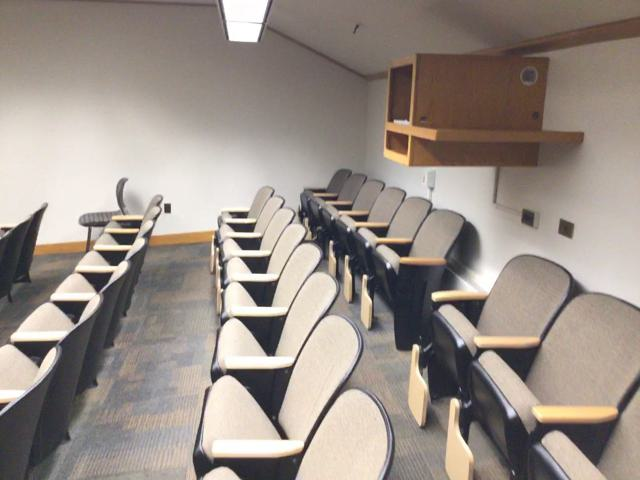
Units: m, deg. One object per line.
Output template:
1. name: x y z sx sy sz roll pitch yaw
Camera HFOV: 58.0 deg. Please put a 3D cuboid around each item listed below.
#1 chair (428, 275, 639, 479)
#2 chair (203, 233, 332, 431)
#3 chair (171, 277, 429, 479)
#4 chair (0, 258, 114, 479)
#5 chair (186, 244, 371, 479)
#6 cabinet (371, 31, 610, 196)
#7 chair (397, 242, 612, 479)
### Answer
1. chair: 0.780 0.610 1.950 0.550 0.810 0.560 4 15 -10
2. chair: -0.270 0.430 2.770 0.500 0.800 0.450 4 15 -10
3. chair: -0.140 0.670 1.950 0.600 0.810 0.660 13 13 -12
4. chair: -1.200 0.550 2.380 0.550 0.790 0.560 6 14 -15
5. chair: -0.200 0.510 2.370 0.580 0.830 0.490 6 14 -11
6. cabinet: 0.670 -0.580 2.600 0.610 0.540 0.950 4 15 -10
7. chair: 0.710 0.480 2.400 0.540 0.790 0.530 4 15 -10
